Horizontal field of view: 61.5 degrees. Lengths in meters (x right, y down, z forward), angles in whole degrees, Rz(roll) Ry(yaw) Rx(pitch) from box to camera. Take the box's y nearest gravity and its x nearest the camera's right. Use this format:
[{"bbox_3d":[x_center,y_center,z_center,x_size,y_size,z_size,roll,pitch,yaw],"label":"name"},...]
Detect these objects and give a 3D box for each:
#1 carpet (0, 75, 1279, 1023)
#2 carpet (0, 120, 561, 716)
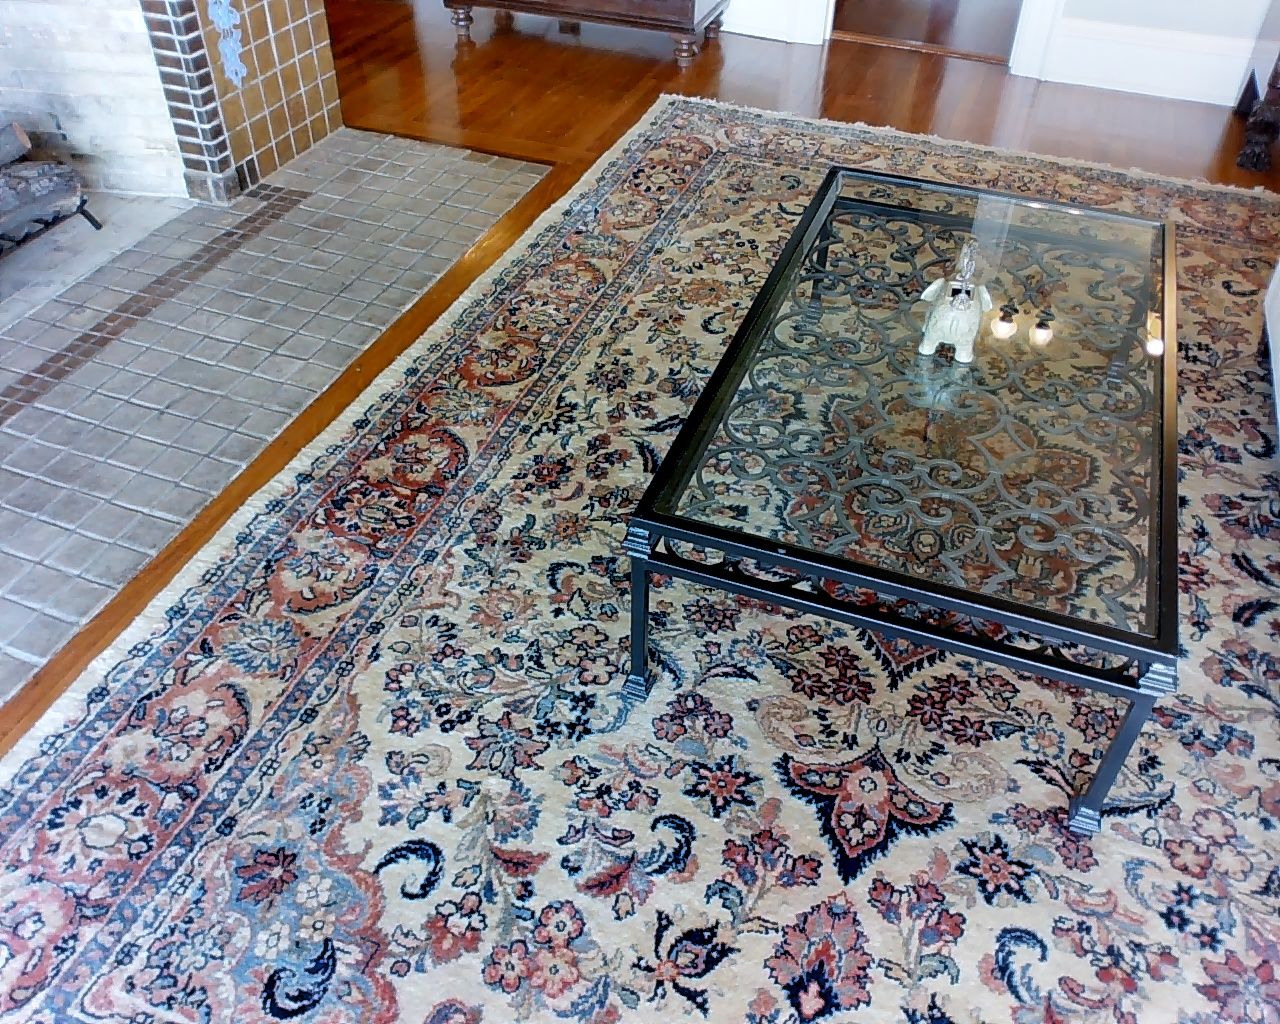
[{"bbox_3d":[0.730,-0.020,2.370,2.930,0.070,4.190,14,43,14],"label":"carpet"},{"bbox_3d":[-1.050,-0.470,2.810,0.690,0.040,2.630,14,44,14],"label":"carpet"}]
